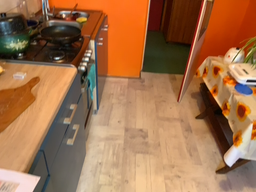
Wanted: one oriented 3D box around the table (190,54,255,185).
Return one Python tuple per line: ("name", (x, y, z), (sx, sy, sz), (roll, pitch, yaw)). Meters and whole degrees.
("table", (1.010, 0.160, 1.840), (0.610, 0.660, 0.920), (5, 35, 0))
